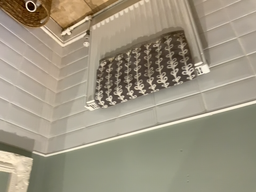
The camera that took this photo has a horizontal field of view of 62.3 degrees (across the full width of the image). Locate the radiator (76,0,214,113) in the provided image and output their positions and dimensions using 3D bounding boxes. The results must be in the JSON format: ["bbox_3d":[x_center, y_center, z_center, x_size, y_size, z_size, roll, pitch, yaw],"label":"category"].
[{"bbox_3d":[0.030,-0.290,1.100,0.630,0.620,0.090,-19,145,22],"label":"radiator"}]
